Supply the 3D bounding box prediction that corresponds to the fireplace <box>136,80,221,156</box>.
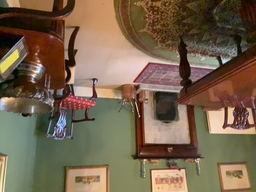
[{"bbox_3d":[0.910,0.470,4.090,1.330,1.290,0.670,3,163,-16],"label":"fireplace"}]
